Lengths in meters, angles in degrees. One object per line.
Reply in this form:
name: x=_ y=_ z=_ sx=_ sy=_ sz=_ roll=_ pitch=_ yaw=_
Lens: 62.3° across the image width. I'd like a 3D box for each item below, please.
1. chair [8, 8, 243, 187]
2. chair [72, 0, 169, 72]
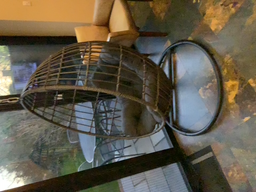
chair: x=-0.090 y=-0.010 z=1.780 sx=0.840 sy=1.460 sz=0.960 roll=-56 pitch=47 yaw=54
chair: x=-0.130 y=-0.740 z=2.430 sx=0.640 sy=0.820 sz=0.620 roll=-54 pitch=48 yaw=55
